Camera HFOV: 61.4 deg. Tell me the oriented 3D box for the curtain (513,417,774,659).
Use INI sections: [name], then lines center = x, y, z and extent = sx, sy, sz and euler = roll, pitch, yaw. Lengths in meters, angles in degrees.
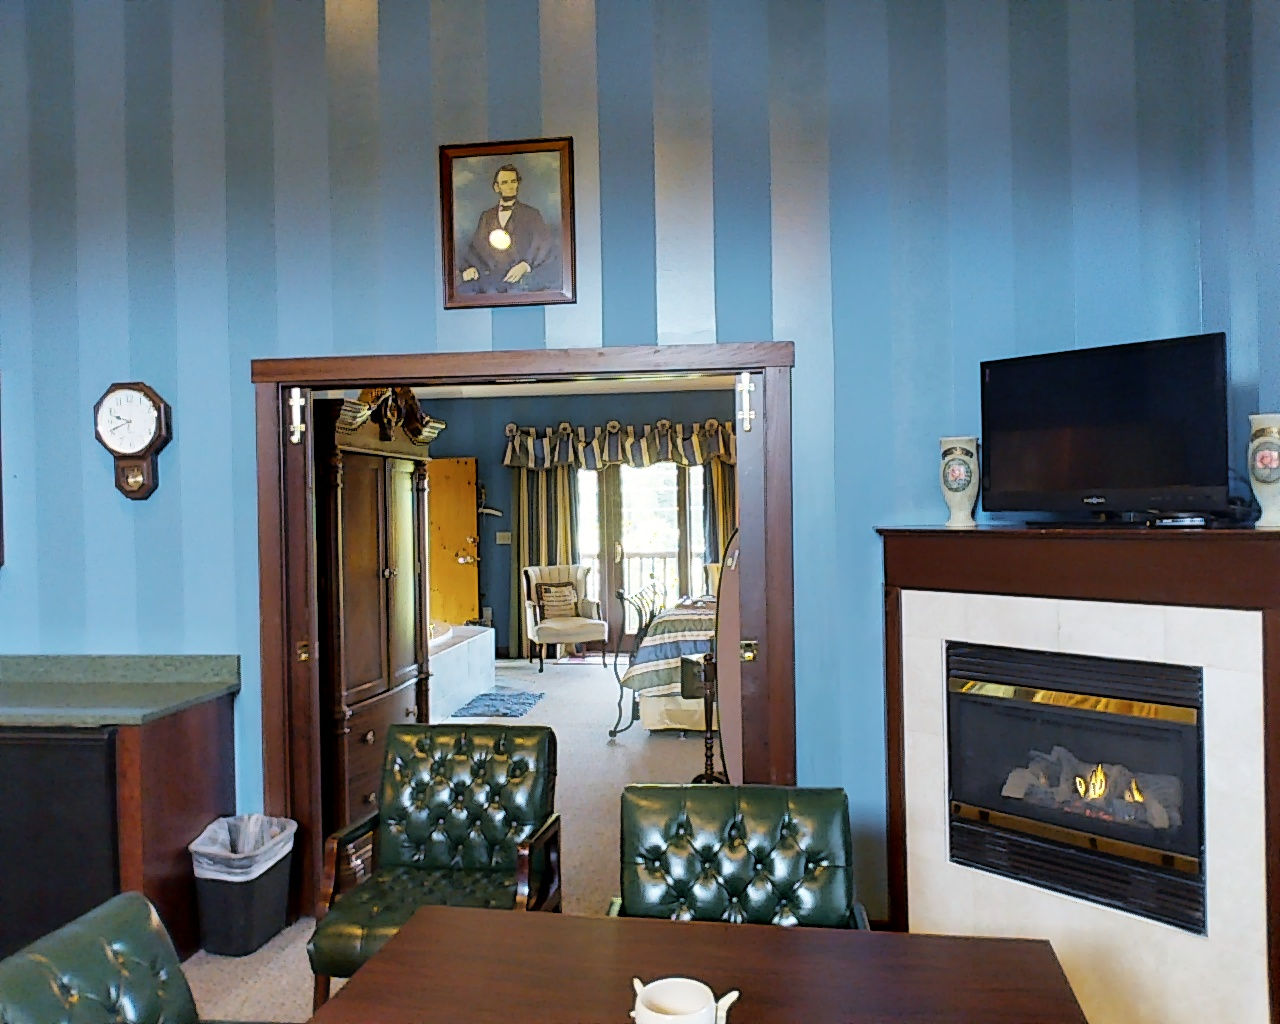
[curtain]
center = 0.040, 0.270, 10.790
extent = 2.539, 2.341, 0.400
euler = -1, 0, 7
